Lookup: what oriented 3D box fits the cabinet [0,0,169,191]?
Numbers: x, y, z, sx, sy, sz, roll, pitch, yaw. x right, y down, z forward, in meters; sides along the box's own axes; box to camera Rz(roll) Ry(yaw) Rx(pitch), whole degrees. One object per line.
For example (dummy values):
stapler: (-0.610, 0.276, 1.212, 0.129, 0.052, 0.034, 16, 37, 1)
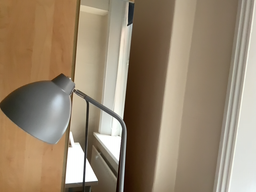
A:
cabinet: (-0.500, 0.390, 1.280, 1.020, 1.910, 0.730, 4, 5, -23)
